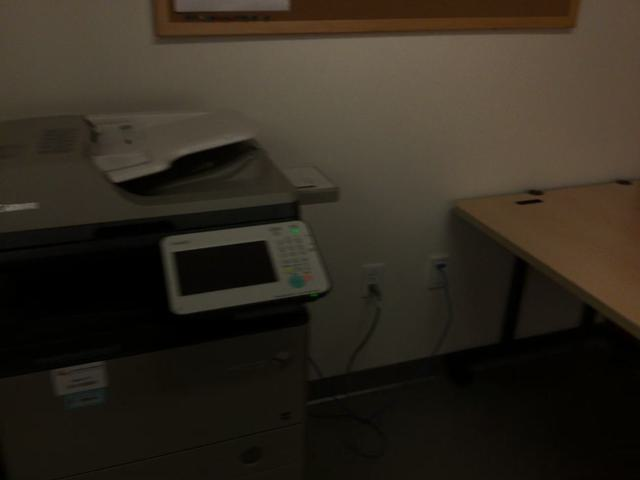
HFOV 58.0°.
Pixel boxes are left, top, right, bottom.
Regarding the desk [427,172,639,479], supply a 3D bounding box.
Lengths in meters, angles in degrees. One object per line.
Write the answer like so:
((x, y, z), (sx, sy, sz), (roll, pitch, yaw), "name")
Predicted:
((0.960, 0.380, 1.500), (0.810, 0.730, 1.230), (-7, 25, -16), "desk")

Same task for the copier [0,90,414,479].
((-0.330, 0.280, 1.270), (0.730, 1.050, 0.730), (-7, 25, -16), "copier")
